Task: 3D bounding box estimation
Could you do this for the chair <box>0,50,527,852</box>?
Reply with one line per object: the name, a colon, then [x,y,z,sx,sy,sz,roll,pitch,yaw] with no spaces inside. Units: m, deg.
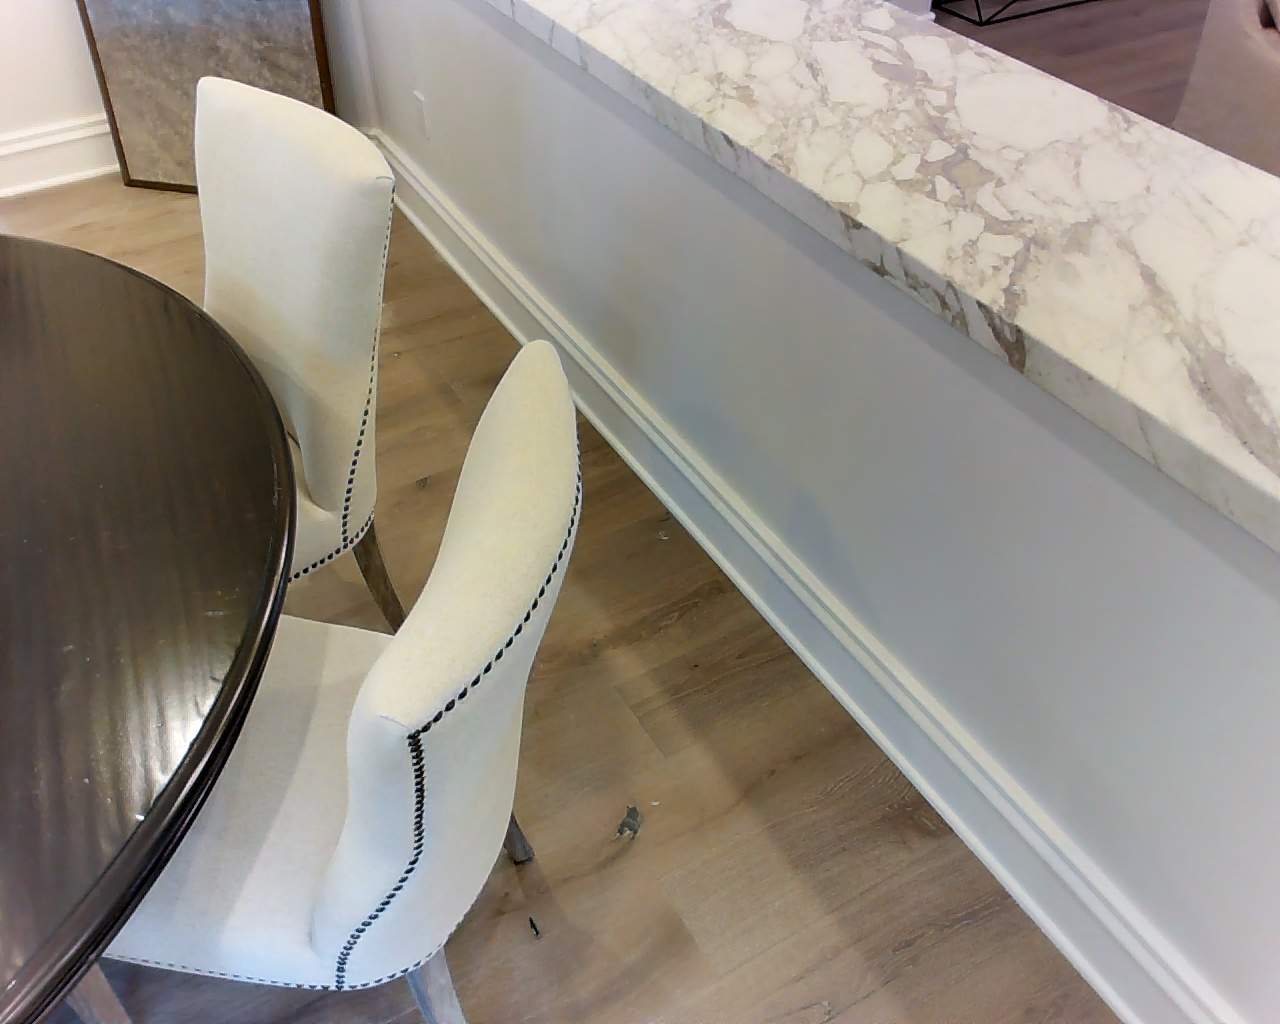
chair: [-0.690,-0.100,1.820,0.590,1.000,0.700,33,53,31]
